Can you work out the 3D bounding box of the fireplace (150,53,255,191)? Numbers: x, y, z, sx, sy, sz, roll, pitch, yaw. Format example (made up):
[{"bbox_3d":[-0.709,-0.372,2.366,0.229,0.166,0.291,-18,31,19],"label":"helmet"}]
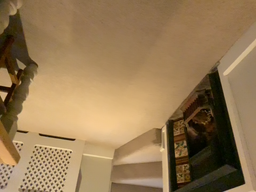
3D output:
[{"bbox_3d":[0.540,0.410,1.720,0.380,0.960,1.070,12,143,-10],"label":"fireplace"}]
